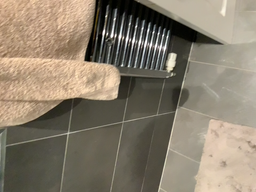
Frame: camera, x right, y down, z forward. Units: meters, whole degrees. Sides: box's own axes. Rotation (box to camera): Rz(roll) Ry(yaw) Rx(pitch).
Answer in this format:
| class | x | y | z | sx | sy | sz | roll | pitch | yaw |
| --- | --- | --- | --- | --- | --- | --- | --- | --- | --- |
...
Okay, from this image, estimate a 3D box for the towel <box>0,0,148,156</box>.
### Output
| class | x | y | z | sx | sy | sz | roll | pitch | yaw |
| --- | --- | --- | --- | --- | --- | --- | --- | --- | --- |
| towel | -0.510 | -0.080 | 0.150 | 0.180 | 1.490 | 0.390 | 18 | 104 | 37 |
